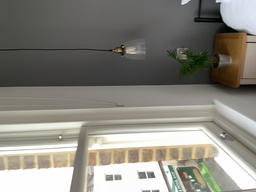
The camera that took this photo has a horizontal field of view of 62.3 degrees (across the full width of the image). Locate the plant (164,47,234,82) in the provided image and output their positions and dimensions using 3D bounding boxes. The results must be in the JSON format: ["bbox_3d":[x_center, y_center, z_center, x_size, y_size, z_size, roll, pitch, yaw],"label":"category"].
[{"bbox_3d":[0.480,-0.230,1.500,0.250,0.380,0.210,-119,29,-72],"label":"plant"}]
